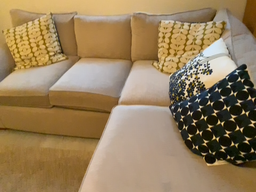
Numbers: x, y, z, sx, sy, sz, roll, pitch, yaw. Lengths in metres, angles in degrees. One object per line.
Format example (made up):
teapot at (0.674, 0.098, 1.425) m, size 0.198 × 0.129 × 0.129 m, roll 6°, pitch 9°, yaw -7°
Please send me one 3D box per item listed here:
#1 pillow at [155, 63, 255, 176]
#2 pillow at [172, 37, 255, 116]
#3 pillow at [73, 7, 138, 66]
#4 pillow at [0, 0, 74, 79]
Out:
pillow at (0.410, 0.070, 0.960) m, size 0.460 × 0.220 × 0.410 m, roll -10°, pitch 35°, yaw -9°
pillow at (0.470, -0.140, 1.240) m, size 0.270 × 0.240 × 0.460 m, roll -8°, pitch 35°, yaw -6°
pillow at (-0.200, -0.510, 1.830) m, size 0.480 × 0.330 × 0.170 m, roll 18°, pitch 37°, yaw -1°
pillow at (-0.810, -0.470, 1.850) m, size 0.500 × 0.420 × 0.250 m, roll 25°, pitch 29°, yaw -34°
